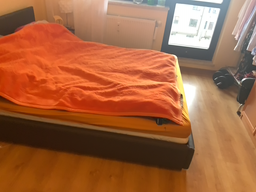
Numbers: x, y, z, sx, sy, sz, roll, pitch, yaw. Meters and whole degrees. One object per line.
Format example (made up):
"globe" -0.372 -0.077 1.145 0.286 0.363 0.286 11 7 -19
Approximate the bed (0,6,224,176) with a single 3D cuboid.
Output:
"bed" -0.410 -0.290 2.310 2.180 0.780 1.730 9 32 3

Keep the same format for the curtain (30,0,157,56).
"curtain" -0.440 -1.760 2.710 1.760 2.340 0.180 8 32 3
